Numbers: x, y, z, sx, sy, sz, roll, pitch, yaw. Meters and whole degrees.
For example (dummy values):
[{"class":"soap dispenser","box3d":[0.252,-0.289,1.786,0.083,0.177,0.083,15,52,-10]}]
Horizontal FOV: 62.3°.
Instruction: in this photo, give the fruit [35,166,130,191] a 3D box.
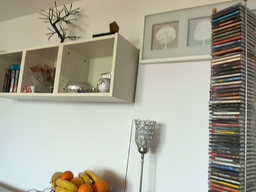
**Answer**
[{"class":"fruit","box3d":[-0.220,0.470,1.140,0.270,0.080,0.430,1,-8,32]}]
